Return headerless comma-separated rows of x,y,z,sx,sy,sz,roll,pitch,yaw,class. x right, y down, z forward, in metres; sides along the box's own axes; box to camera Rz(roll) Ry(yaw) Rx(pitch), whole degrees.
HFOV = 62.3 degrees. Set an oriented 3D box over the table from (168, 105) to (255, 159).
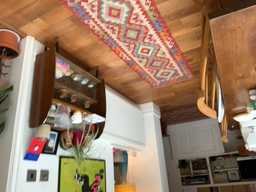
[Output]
2.100,0.870,4.880,2.190,0.880,0.520,-16,156,26,table
